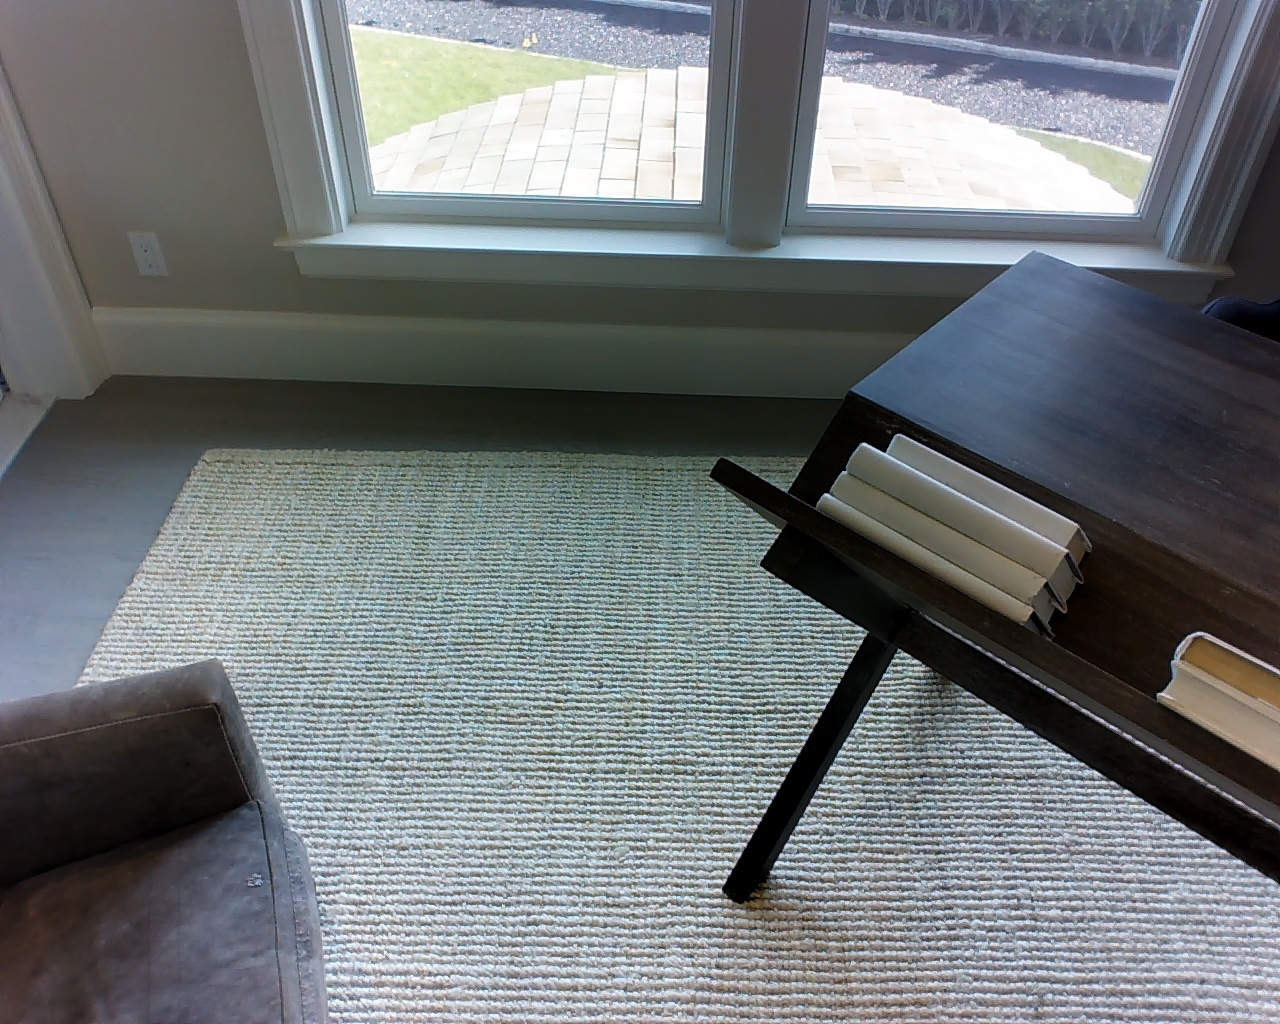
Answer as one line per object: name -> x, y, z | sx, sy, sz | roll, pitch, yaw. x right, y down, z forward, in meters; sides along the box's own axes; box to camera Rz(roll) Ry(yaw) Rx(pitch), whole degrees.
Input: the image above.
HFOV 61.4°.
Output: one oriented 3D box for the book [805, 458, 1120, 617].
book -> 0.360, 0.030, 1.210 | 0.270, 0.150, 0.200 | 1, -5, 44
